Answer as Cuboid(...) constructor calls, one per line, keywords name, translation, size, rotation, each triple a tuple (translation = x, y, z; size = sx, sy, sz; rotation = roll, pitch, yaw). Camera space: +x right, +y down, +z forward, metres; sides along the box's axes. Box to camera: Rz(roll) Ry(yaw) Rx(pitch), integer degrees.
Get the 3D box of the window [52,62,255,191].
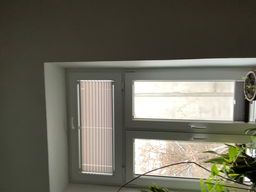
Cuboid(name="window", translation=(0.260, 0.320, 1.890), size=(0.170, 1.880, 1.210), rotation=(-28, -61, -80))
